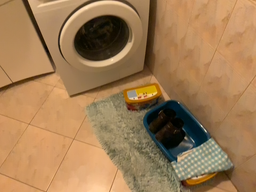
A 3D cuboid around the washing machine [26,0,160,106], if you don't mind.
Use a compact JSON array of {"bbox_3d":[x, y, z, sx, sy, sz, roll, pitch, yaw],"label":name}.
[{"bbox_3d":[-0.260,-0.530,1.400,0.630,0.840,0.680,-22,58,-14],"label":"washing machine"}]
